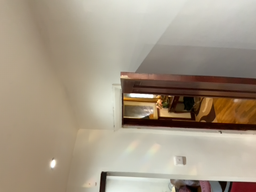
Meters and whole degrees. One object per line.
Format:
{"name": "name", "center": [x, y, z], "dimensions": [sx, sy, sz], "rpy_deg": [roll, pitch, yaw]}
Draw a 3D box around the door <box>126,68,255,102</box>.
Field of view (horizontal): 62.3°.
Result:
{"name": "door", "center": [0.940, -0.030, 1.500], "dimensions": [0.750, 1.900, 0.050], "rpy_deg": [97, 176, -83]}
